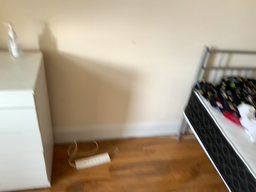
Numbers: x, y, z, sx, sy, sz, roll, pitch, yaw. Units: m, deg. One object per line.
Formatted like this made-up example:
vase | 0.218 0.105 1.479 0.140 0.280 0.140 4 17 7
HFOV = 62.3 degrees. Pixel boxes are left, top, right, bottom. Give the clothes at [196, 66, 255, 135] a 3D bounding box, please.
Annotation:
clothes | 0.840 -0.010 1.410 0.540 0.130 0.550 -2 36 -15
